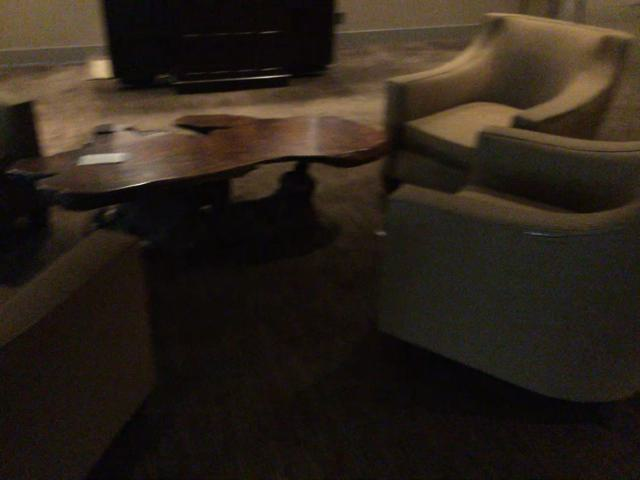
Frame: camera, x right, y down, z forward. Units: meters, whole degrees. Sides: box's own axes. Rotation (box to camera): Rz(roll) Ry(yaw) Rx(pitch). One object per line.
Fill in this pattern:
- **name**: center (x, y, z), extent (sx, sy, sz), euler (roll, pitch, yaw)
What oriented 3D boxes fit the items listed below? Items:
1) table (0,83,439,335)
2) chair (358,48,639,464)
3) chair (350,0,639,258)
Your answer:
- **table**: center (-0.470, -0.250, 2.560), extent (1.740, 0.480, 0.850), euler (-13, 33, -21)
- **chair**: center (0.820, -0.030, 1.830), extent (1.080, 0.840, 0.870), euler (18, 35, 28)
- **chair**: center (0.890, -0.650, 2.890), extent (1.030, 0.830, 1.030), euler (-25, 39, -36)
